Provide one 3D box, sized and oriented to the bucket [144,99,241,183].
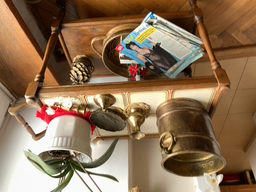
[{"bbox_3d":[0.200,0.170,0.760,0.260,0.190,0.250,-4,141,5],"label":"bucket"}]
